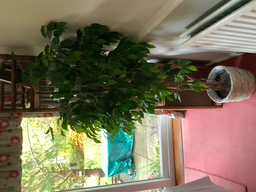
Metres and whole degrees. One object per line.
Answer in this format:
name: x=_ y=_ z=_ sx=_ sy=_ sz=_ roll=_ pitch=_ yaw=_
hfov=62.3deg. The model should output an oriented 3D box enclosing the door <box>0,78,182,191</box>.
door: x=-0.330 y=1.050 z=2.600 sx=0.130 sy=2.190 sz=2.470 roll=160 pitch=109 yaw=-69
